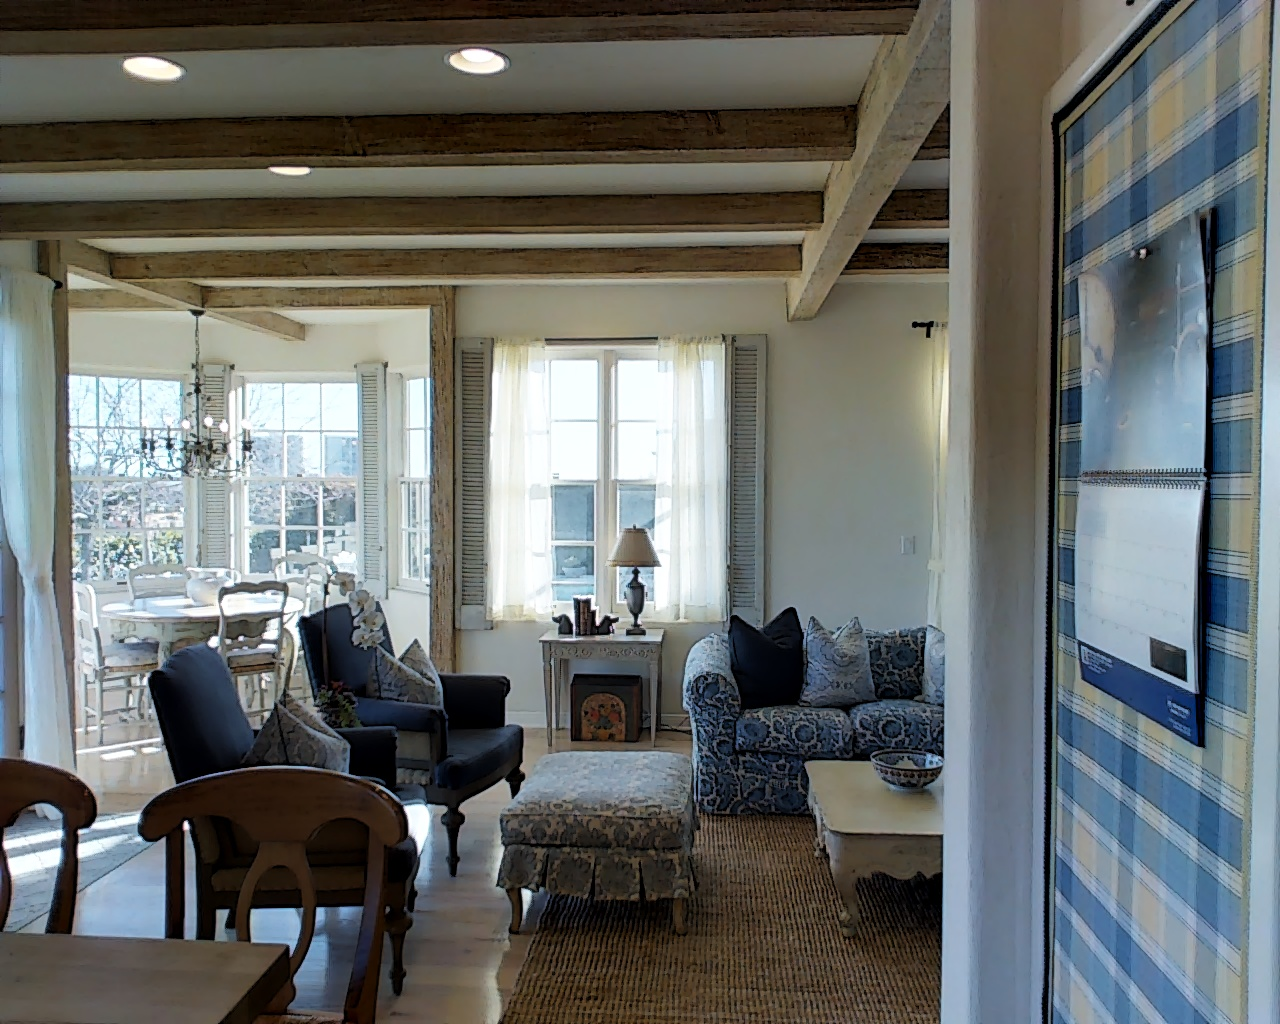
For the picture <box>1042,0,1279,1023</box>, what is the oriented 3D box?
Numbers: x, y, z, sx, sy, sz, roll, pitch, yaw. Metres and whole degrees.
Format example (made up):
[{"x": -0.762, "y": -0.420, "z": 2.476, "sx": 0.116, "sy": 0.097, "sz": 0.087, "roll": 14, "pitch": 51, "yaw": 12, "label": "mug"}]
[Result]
[{"x": 0.480, "y": 0.190, "z": 1.010, "sx": 0.030, "sy": 1.320, "sz": 0.560, "roll": 0, "pitch": 2, "yaw": 5, "label": "picture"}]
